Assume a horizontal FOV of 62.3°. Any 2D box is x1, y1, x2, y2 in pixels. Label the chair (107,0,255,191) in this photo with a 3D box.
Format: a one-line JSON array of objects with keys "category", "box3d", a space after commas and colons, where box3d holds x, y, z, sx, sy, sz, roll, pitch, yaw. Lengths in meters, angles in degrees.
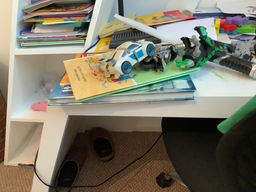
[{"category": "chair", "box3d": [0.310, 0.170, 0.560, 0.580, 0.760, 0.610, -9, 32, -7]}]
